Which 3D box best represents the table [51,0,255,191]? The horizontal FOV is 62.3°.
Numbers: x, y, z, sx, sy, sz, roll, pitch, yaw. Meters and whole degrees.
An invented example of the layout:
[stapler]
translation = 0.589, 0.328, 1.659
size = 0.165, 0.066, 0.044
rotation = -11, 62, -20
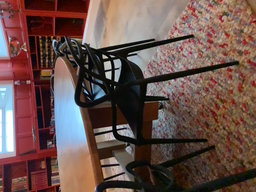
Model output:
[table]
translation = -0.100, 0.770, 1.800
size = 2.230, 0.830, 2.180
rotation = 125, 135, -57
